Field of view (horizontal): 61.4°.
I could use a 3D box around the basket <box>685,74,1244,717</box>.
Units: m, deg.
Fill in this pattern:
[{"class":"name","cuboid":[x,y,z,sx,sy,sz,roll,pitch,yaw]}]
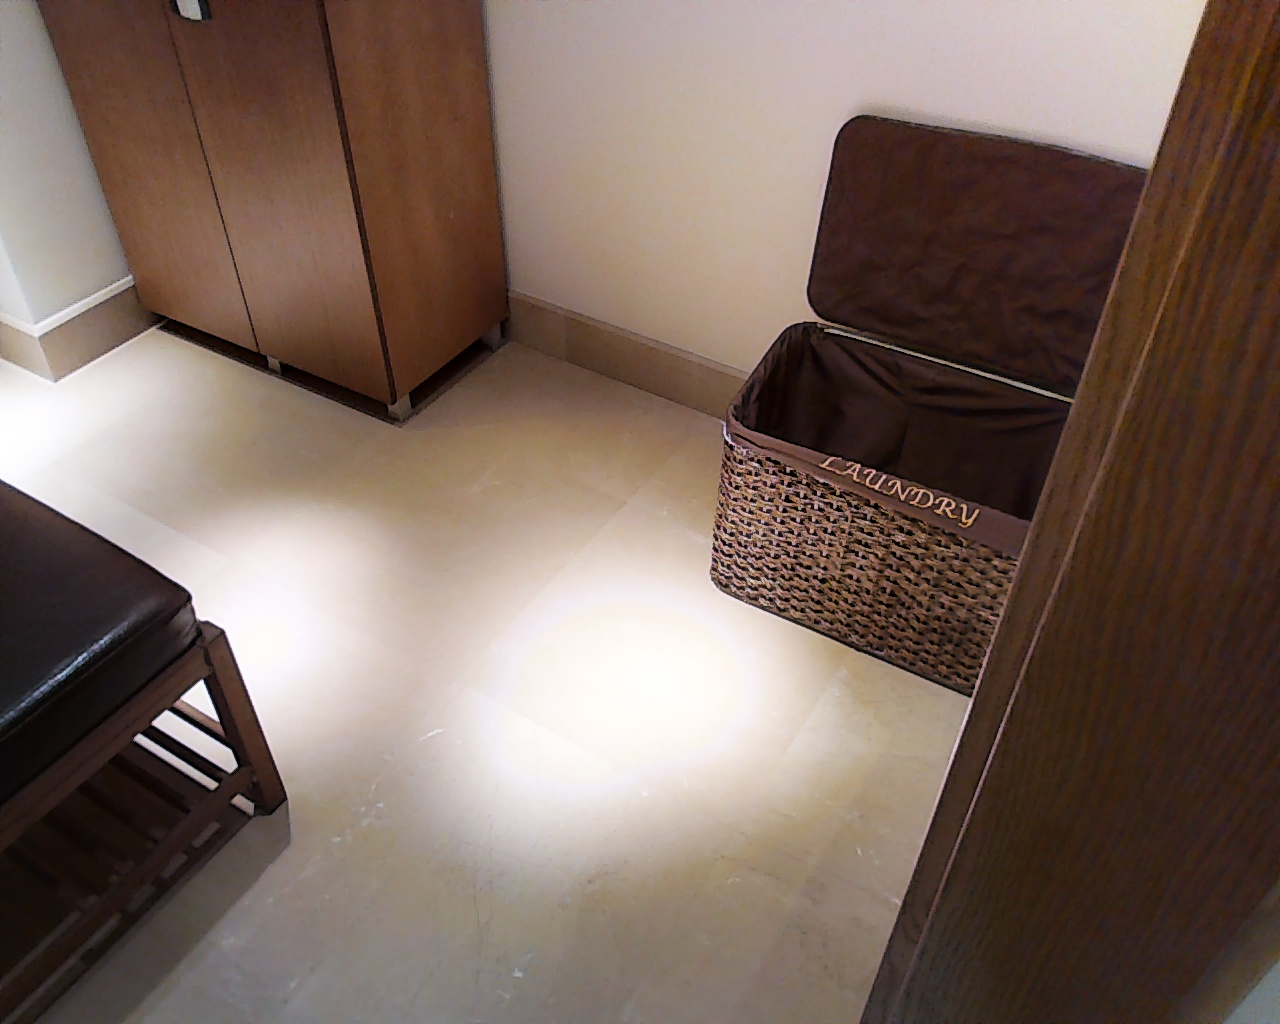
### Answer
[{"class":"basket","cuboid":[0.540,-0.220,2.010,0.700,0.870,0.540,23,47,22]}]
